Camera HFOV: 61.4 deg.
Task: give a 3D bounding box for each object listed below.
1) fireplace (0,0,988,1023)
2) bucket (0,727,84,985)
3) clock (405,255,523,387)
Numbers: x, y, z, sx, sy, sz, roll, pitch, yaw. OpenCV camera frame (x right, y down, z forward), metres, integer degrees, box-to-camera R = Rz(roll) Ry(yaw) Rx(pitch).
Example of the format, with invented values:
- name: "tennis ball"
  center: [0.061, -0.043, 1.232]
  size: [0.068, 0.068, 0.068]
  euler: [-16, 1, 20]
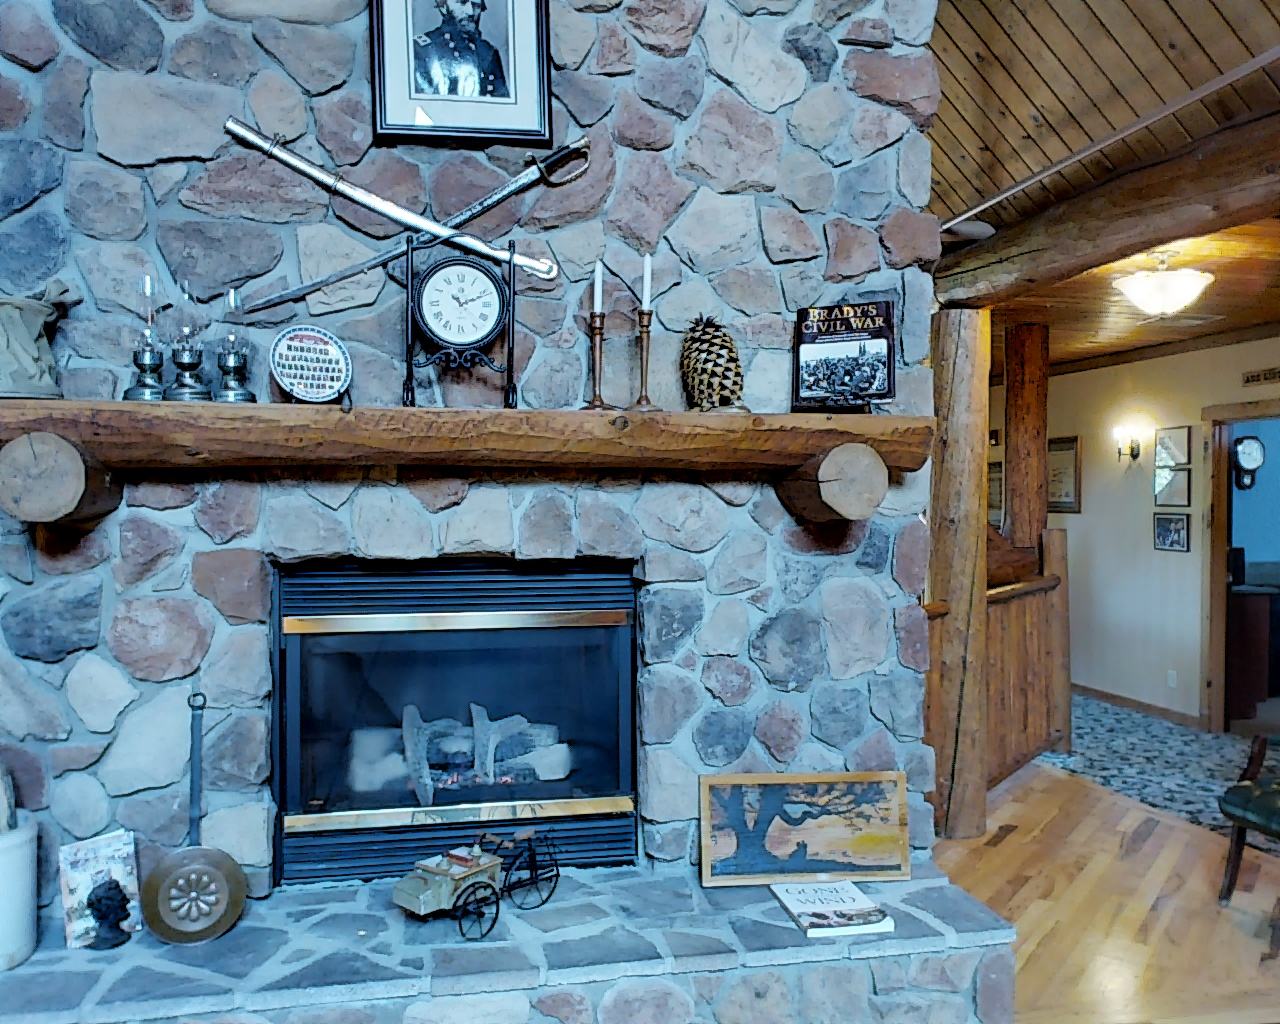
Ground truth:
- name: "fireplace"
  center: [-0.530, -0.350, 3.260]
  size: [2.969, 3.661, 0.870]
  euler: [0, 1, -13]
- name: "bucket"
  center: [-1.580, 0.800, 2.540]
  size: [0.390, 0.490, 0.370]
  euler: [0, 1, -12]
- name: "clock"
  center: [-0.470, -0.500, 2.860]
  size: [0.300, 0.310, 0.180]
  euler: [0, 1, -13]
